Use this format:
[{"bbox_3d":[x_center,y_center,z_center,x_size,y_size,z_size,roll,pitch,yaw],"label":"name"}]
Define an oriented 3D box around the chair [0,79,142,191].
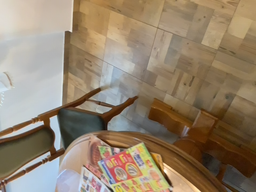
[{"bbox_3d":[-0.440,0.320,1.480,0.610,1.090,0.490,14,119,31],"label":"chair"}]
